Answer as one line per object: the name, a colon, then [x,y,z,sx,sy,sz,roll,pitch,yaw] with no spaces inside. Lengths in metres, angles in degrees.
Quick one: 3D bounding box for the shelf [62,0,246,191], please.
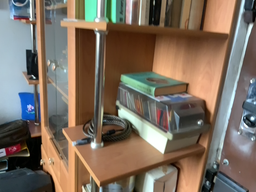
shelf: [0.030,0.060,0.710,0.410,1.750,0.320,-6,21,-31]
